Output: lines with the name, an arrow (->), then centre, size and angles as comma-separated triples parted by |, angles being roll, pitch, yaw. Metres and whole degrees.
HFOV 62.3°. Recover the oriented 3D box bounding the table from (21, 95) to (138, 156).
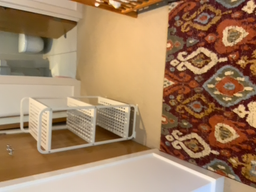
table -> -0.500, 0.210, 2.090 | 0.800, 0.850, 0.360 | 10, 98, 51
